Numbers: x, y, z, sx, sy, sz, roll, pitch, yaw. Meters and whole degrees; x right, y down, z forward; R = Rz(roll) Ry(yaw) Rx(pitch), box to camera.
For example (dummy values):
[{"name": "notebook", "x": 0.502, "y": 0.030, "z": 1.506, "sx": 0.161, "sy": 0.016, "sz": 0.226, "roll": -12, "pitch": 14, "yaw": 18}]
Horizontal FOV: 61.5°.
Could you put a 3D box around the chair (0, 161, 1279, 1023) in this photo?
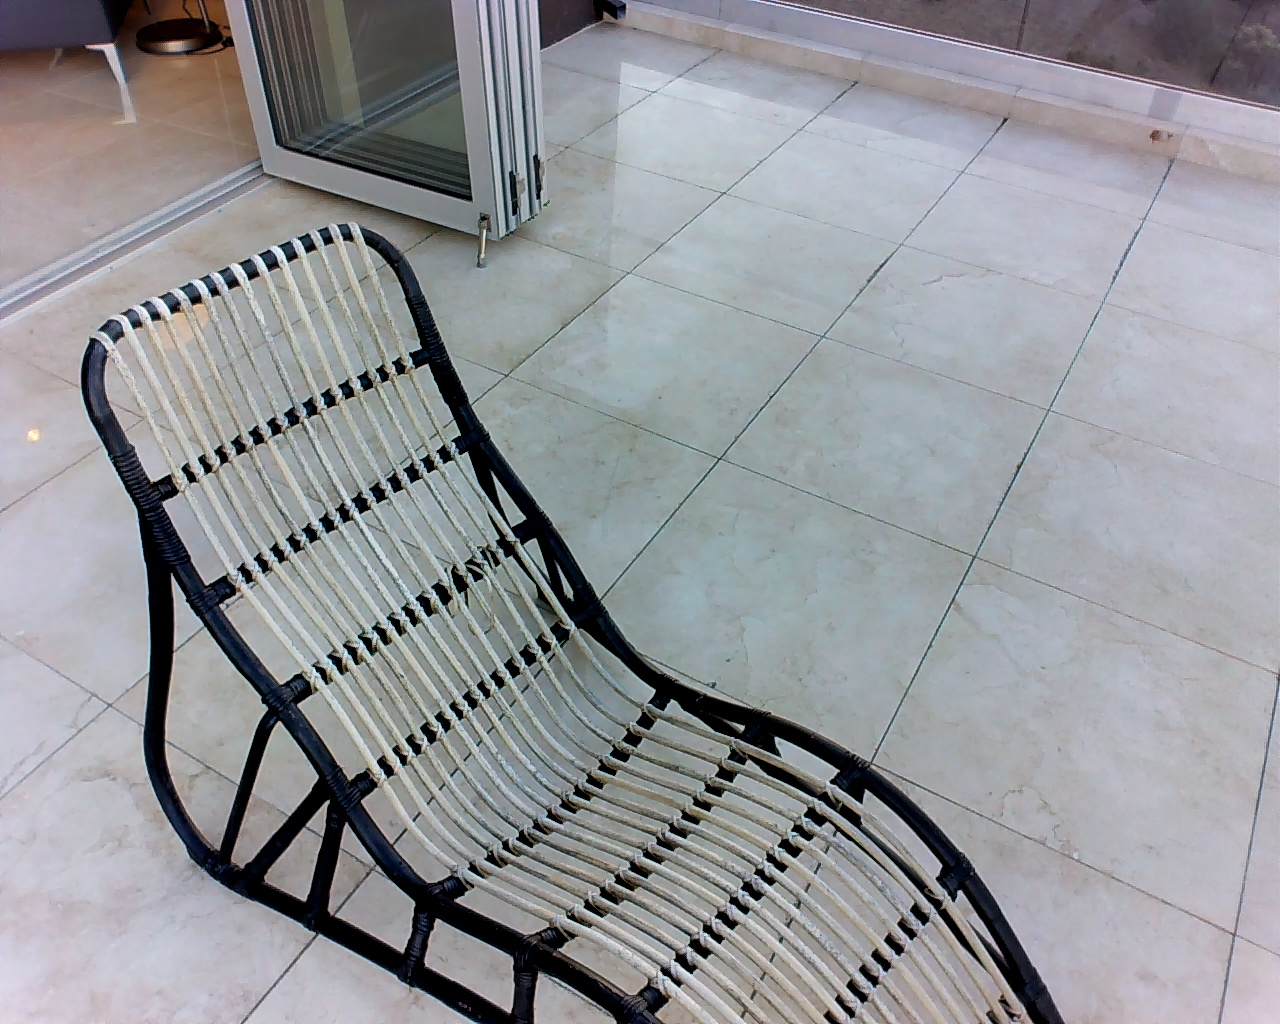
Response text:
[{"name": "chair", "x": -0.060, "y": 0.290, "z": 1.430, "sx": 1.530, "sy": 0.860, "sz": 0.810, "roll": 29, "pitch": 49, "yaw": 28}]
